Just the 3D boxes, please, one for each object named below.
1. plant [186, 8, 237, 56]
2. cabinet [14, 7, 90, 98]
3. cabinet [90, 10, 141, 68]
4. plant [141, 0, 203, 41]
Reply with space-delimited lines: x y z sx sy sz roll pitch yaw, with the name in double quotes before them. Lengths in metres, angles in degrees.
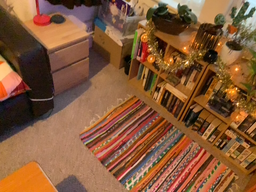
"plant" 0.540 -0.420 1.390 0.140 0.200 0.210 -32 60 -33
"cabinet" -0.600 -0.360 1.760 0.430 0.510 0.360 39 52 24
"cabinet" -0.140 -0.580 2.130 0.370 0.360 0.300 37 51 22
"plant" 0.300 -0.570 1.490 0.260 0.170 0.300 -32 60 -33
